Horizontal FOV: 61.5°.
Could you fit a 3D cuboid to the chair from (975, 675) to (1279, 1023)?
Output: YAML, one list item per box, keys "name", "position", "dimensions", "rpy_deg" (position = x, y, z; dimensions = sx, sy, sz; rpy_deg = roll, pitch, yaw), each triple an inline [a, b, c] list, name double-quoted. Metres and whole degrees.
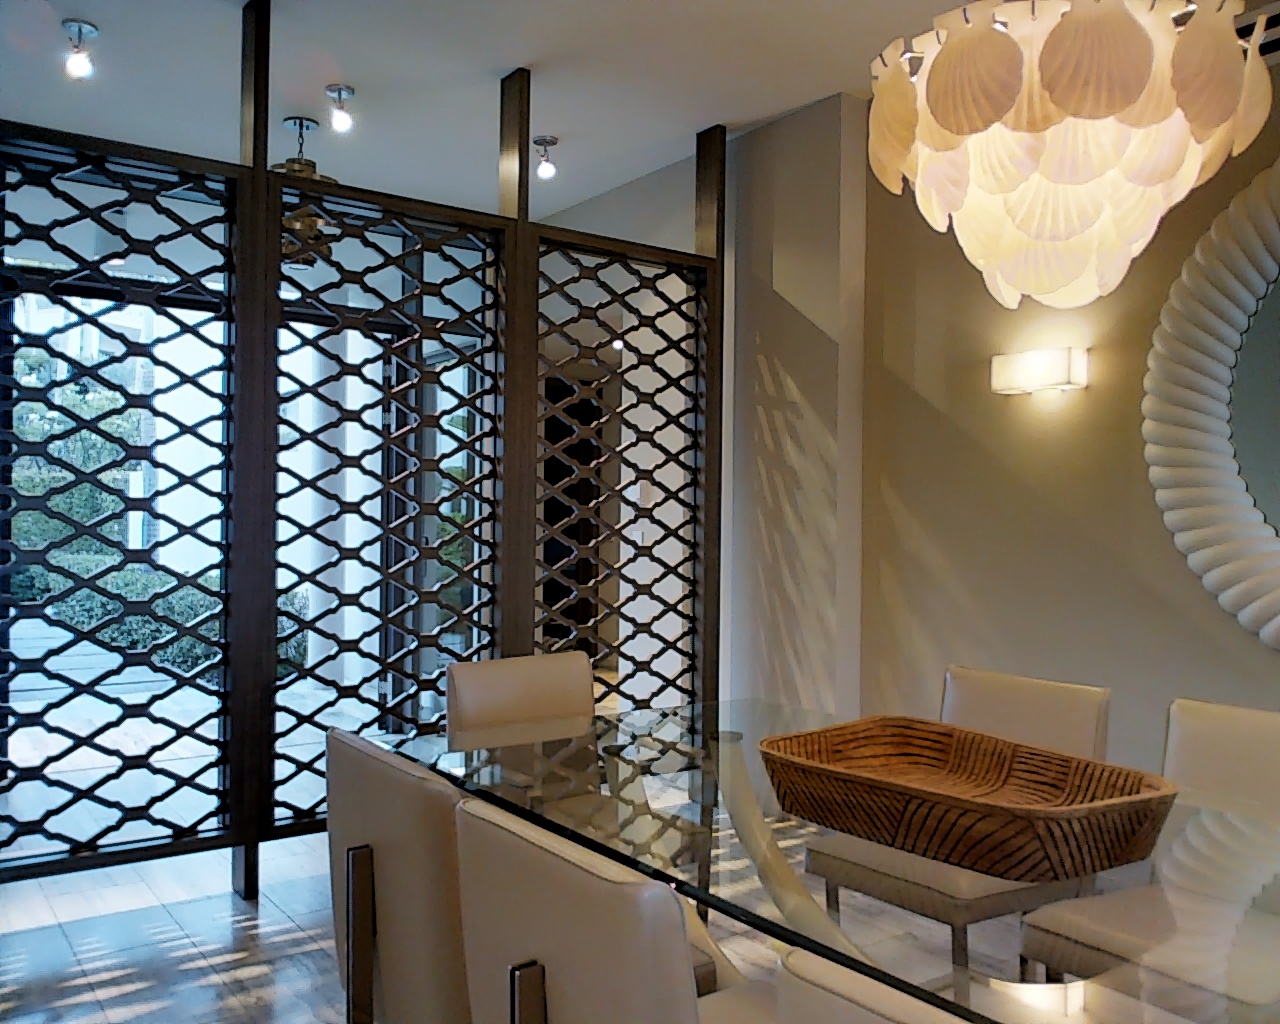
- name: "chair"
  position: [1.180, 0.830, 2.200]
  dimensions: [0.710, 0.850, 0.640]
  rpy_deg: [1, 0, -36]

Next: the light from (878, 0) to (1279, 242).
- name: "light"
  position: [0.710, -0.650, 1.780]
  dimensions: [0.580, 0.240, 0.610]
  rpy_deg: [1, 0, 9]

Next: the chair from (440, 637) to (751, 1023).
- name: "chair"
  position: [-0.140, 0.810, 2.940]
  dimensions: [0.540, 0.830, 0.710]
  rpy_deg: [1, 0, -36]
